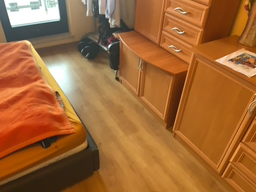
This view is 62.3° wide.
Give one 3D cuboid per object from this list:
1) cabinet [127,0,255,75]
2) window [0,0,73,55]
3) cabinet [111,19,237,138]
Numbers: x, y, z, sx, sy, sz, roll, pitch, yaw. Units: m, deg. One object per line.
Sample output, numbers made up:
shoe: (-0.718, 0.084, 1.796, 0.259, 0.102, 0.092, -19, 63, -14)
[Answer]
cabinet: (0.460, -1.070, 1.480, 0.430, 1.500, 0.980, -18, 43, -25)
window: (-1.170, -1.660, 2.370, 0.780, 2.410, 0.200, -17, 43, -24)
cabinet: (0.340, -0.250, 2.110, 0.570, 0.620, 1.060, -20, 44, -27)
